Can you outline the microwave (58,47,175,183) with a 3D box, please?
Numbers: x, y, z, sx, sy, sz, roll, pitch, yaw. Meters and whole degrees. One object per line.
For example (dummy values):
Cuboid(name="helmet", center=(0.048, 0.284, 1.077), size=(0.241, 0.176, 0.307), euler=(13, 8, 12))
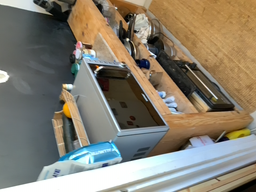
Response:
Cuboid(name="microwave", center=(-0.100, 0.070, 1.060), size=(0.340, 0.290, 0.530), euler=(-58, 47, 34))
